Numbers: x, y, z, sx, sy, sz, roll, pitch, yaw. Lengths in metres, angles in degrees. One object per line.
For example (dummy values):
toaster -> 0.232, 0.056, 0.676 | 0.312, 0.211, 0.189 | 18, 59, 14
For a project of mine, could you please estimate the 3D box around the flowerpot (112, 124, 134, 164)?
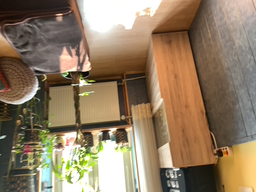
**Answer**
flowerpot -> -0.080, 0.680, 3.000 | 0.250, 0.520, 0.180 | -4, 162, -7

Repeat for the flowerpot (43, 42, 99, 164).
flowerpot -> -0.690, 0.120, 2.460 | 0.330, 1.210, 0.710 | 8, 157, -37

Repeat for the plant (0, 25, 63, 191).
plant -> -1.340, 0.670, 2.300 | 1.000, 2.630, 0.950 | -5, 162, -3

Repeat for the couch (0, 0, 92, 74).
couch -> -0.590, -0.580, 1.680 | 0.460, 0.510, 0.760 | -5, 162, -2
